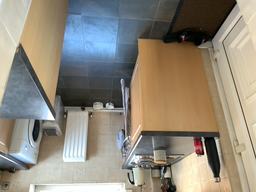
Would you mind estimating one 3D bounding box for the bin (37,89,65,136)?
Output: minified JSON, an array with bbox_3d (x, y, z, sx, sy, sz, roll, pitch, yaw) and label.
[{"bbox_3d":[-1.030,0.230,2.890,0.240,0.530,0.370,2,153,-7],"label":"bin"}]
